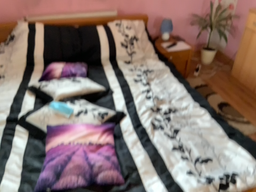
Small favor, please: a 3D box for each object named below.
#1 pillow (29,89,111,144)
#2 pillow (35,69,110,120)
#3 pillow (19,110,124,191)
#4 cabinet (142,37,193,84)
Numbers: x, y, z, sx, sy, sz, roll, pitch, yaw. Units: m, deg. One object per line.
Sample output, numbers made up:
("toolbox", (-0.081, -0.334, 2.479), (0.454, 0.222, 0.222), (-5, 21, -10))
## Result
("pillow", (-0.360, 0.120, 1.380), (0.450, 0.150, 0.290), (-6, 35, -10))
("pillow", (-0.420, -0.030, 1.710), (0.510, 0.190, 0.380), (-5, 35, -8))
("pillow", (-0.270, 0.280, 1.070), (0.420, 0.140, 0.410), (-8, 35, -12))
("cabinet", (0.480, -0.470, 2.730), (0.450, 0.420, 0.450), (-8, 35, -12))
